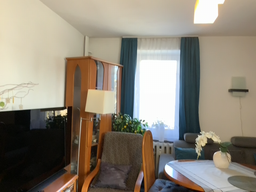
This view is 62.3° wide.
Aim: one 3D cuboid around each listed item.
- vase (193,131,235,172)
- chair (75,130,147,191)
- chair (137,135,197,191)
[{"bbox_3d":[0.960,0.610,2.410,0.400,0.370,0.240,2,0,13],"label":"vase"},{"bbox_3d":[-0.160,0.970,2.510,0.650,0.980,0.740,2,0,13],"label":"chair"},{"bbox_3d":[0.410,0.970,2.200,0.510,1.010,0.490,2,0,22],"label":"chair"}]
